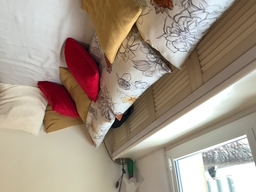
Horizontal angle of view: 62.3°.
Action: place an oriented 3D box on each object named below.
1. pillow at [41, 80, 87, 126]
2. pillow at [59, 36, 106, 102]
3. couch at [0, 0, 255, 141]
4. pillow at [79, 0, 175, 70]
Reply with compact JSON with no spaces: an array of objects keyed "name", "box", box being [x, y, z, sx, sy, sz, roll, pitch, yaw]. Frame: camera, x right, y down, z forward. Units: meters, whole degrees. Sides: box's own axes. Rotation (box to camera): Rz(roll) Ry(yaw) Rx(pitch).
[{"name":"pillow","box":[-0.570,0.080,1.870,0.330,0.250,0.380,6,153,-21]},{"name":"pillow","box":[-0.310,-0.160,1.410,0.220,0.280,0.320,8,153,-24]},{"name":"couch","box":[-0.330,-0.420,1.190,1.000,0.860,2.020,5,154,-19]},{"name":"pillow","box":[-0.050,-0.400,0.960,0.190,0.390,0.440,-8,162,-26]}]
